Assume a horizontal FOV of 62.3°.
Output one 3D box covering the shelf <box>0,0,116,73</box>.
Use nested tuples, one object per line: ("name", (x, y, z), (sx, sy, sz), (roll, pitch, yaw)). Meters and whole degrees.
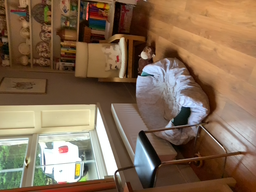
("shelf", (-1.170, -1.130, 3.680), (0.460, 1.710, 1.320), (-123, 38, -57))

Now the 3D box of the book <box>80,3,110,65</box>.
("book", (-0.620, -1.100, 3.860), (0.200, 0.440, 1.040), (-124, 39, -58))

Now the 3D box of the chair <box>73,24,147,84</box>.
("chair", (-0.320, -0.580, 3.330), (0.830, 0.970, 0.750), (-175, 85, -70))
